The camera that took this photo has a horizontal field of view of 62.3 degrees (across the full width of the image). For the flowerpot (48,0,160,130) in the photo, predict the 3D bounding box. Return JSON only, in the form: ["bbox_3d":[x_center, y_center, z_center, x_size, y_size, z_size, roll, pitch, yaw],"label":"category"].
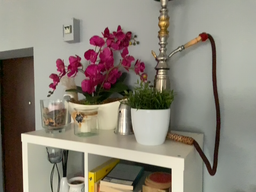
[{"bbox_3d":[-0.130,-0.140,1.150,0.540,0.560,0.270,1,2,26],"label":"flowerpot"}]
